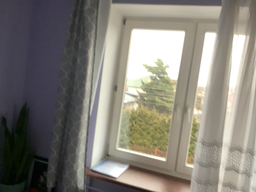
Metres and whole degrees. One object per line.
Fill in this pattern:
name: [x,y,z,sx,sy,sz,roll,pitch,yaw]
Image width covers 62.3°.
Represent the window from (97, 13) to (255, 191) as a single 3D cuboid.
window: [0.790,0.120,1.840,2.090,1.580,0.140,8,3,18]
